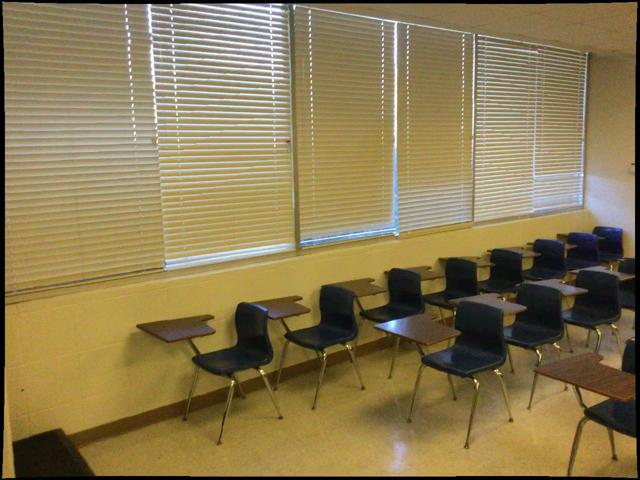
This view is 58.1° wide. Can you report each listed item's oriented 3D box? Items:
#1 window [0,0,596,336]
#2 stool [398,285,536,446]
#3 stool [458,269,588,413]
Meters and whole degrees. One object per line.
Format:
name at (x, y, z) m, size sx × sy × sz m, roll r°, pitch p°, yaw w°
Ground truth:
window at (0.638, -0.902, 5.030) m, size 6.361 × 1.915 × 0.450 m, roll -10°, pitch 13°, yaw -39°
stool at (0.987, 0.792, 3.880) m, size 0.769 × 0.772 × 0.529 m, roll -10°, pitch 13°, yaw -37°
stool at (1.506, 0.702, 4.280) m, size 0.829 × 0.772 × 0.529 m, roll -10°, pitch 13°, yaw -37°
